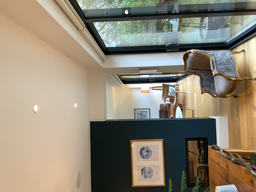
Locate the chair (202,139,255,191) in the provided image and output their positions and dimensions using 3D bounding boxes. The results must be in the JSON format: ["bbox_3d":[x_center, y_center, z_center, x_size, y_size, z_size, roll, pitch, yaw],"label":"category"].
[{"bbox_3d":[1.370,0.810,2.340,0.540,0.910,0.570,32,-123,-88],"label":"chair"}]

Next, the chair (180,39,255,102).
[{"bbox_3d":[1.410,-0.390,3.570,0.880,0.840,0.700,84,-175,-69],"label":"chair"}]
